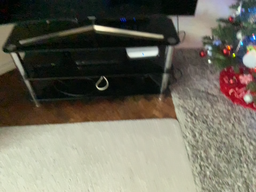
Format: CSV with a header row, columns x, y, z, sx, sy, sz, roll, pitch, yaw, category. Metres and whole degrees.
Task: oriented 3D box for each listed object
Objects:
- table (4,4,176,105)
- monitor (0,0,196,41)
x,y,z,sx,sy,sz,roll,pitch,yaw,category
-0.240,-0.320,1.630,1.030,0.500,0.500,-4,50,-4,table
-0.230,-0.660,1.070,1.230,0.800,0.080,-3,49,-3,monitor
